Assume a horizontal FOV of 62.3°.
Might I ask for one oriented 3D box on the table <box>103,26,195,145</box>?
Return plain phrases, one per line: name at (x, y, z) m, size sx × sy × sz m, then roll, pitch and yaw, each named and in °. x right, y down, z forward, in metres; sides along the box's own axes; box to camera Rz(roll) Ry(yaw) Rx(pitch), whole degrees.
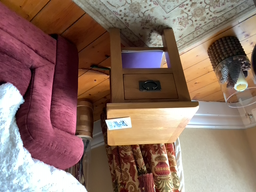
table at (0.060, -0.050, 1.110) m, size 0.350 × 0.470 × 0.390 m, roll -3°, pitch 147°, yaw -5°
